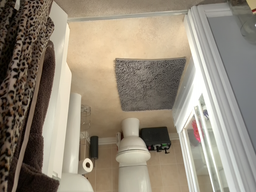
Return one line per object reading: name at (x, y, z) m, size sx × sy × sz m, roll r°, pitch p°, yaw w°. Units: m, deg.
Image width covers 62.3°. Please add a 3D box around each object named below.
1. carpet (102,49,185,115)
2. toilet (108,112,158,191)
carpet at (0.140, -0.060, 1.860) m, size 0.570 × 0.030 × 0.910 m, roll -5°, pitch 150°, yaw 2°
toilet at (0.040, 0.690, 2.350) m, size 0.440 × 0.790 × 0.660 m, roll -4°, pitch 150°, yaw 0°
